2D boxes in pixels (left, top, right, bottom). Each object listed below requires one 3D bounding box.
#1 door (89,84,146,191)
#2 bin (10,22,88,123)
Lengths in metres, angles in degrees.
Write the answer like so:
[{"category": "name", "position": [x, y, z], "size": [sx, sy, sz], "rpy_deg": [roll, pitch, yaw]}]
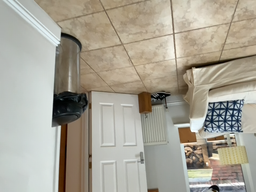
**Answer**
[{"category": "door", "position": [-0.140, 0.820, 2.810], "size": [0.740, 2.010, 0.040], "rpy_deg": [5, 160, -24]}, {"category": "bin", "position": [-0.590, -0.160, 1.690], "size": [0.430, 0.660, 0.350], "rpy_deg": [-7, 162, 11]}]
